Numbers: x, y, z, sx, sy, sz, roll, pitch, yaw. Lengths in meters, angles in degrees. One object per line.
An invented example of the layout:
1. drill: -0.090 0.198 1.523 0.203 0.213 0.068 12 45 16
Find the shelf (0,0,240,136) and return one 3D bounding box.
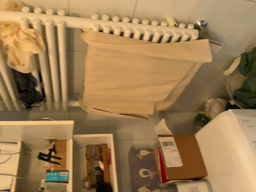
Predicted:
1. shelf: -0.290 -0.050 1.090 0.790 1.360 0.200 113 154 -55
